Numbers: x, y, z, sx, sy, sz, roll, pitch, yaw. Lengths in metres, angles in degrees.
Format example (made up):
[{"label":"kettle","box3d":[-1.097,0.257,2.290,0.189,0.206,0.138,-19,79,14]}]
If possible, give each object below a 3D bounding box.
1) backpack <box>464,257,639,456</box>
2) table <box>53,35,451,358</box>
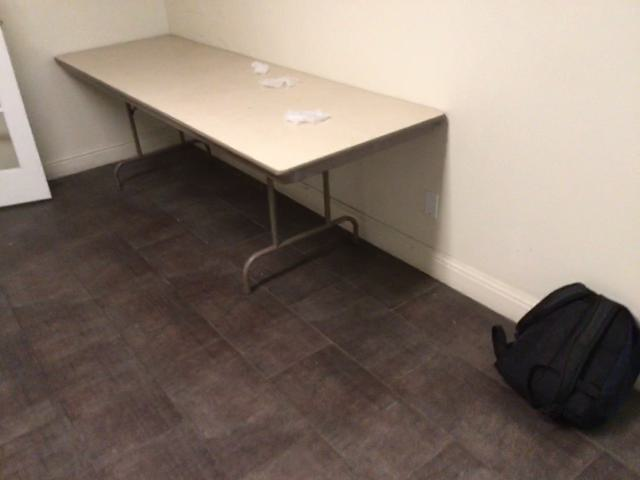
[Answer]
[{"label":"backpack","box3d":[0.760,0.340,1.830,0.350,0.330,0.440,-22,35,-32]},{"label":"table","box3d":[-0.520,-0.450,2.930,0.780,0.750,2.300,-22,35,-32]}]
